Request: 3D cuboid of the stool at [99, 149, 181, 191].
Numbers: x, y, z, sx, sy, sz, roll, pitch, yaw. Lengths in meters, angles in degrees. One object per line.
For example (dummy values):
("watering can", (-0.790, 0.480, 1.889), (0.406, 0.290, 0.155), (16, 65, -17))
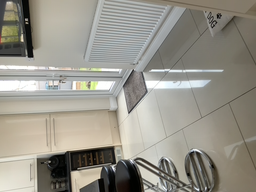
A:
("stool", (0.100, 0.780, 2.100), (0.340, 0.680, 0.340), (127, 137, -57))
